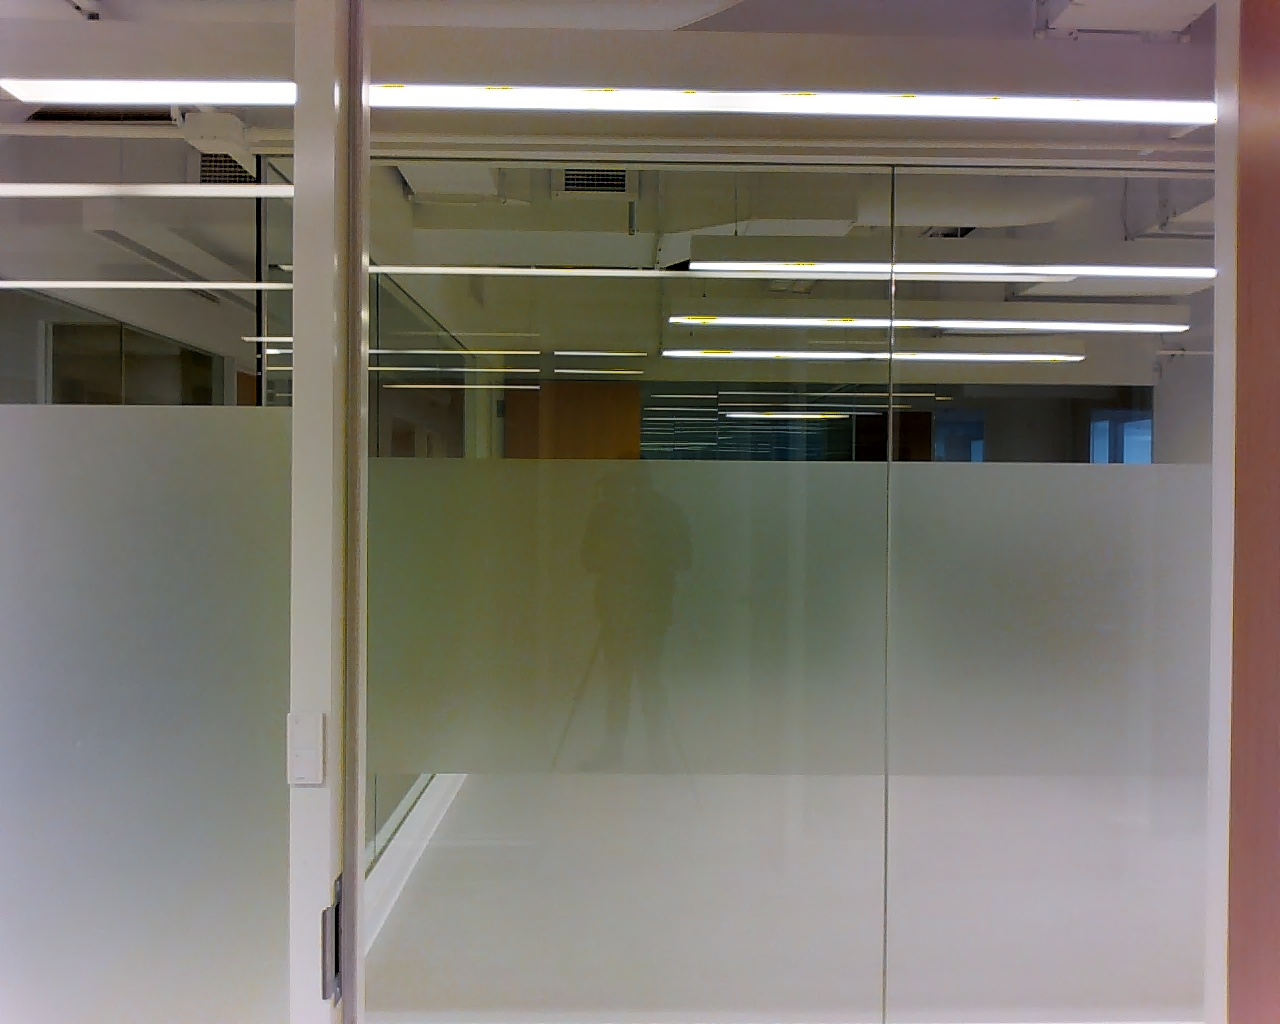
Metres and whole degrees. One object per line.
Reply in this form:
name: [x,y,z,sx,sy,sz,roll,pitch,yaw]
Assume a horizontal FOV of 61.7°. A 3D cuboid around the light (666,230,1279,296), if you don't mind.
light: [1.360,-0.900,3.900,2.519,0.160,0.190,1,1,-2]
